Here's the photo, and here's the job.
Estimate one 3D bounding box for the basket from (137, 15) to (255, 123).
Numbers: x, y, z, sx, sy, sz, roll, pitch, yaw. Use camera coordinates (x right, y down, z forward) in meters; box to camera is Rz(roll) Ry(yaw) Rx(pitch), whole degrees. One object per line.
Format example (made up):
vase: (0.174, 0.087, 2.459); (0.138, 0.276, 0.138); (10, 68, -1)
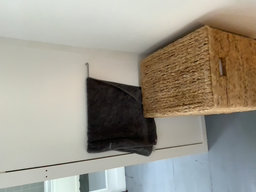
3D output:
basket: (0.490, -0.090, 1.330); (0.590, 0.620, 0.470); (-14, 77, 58)
